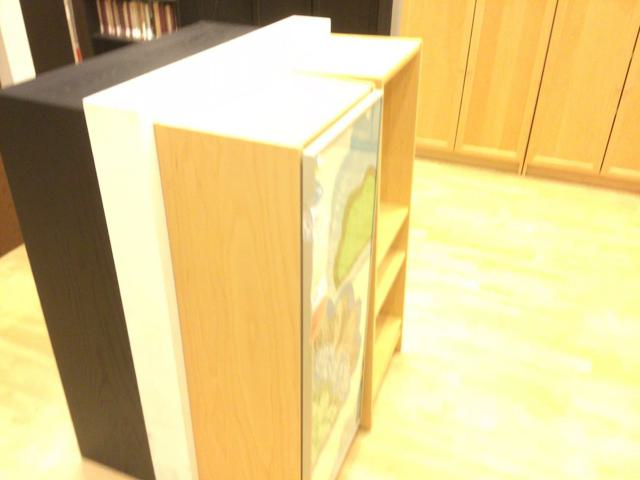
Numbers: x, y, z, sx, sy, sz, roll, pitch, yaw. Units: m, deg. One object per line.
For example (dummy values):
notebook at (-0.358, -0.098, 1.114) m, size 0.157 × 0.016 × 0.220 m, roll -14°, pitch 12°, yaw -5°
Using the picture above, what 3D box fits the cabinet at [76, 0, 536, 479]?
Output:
cabinet at (-0.060, 0.080, 1.510) m, size 0.570 × 1.080 × 0.950 m, roll 30°, pitch 44°, yaw 4°

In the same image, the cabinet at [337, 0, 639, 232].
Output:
cabinet at (1.100, -1.390, 2.860) m, size 1.590 × 2.290 × 0.710 m, roll 16°, pitch 32°, yaw 13°
